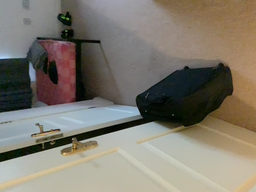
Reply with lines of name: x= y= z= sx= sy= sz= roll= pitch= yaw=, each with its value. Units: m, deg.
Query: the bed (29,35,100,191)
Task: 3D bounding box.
bed: x=-0.890 y=0.230 z=2.860 sx=1.050 sy=0.460 sz=1.980 roll=19 pitch=111 yaw=47
